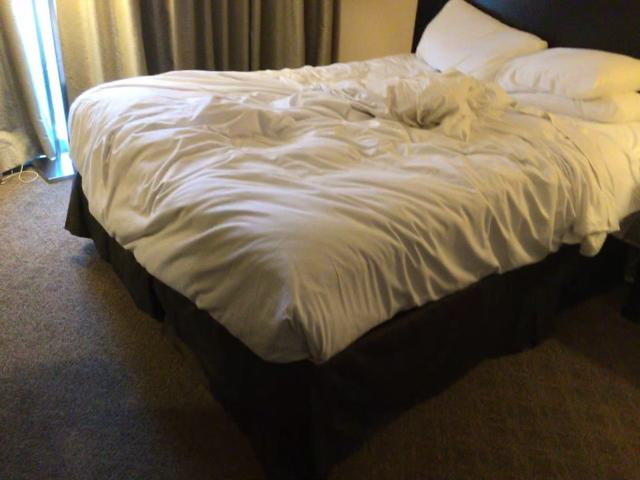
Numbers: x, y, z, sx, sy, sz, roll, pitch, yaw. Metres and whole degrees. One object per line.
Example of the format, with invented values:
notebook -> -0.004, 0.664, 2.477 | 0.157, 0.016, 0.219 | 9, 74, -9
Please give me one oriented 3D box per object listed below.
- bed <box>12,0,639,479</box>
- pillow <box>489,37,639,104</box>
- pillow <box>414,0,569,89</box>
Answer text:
bed -> 0.270, -0.600, 2.180 | 2.140, 1.590, 1.830 | -17, 35, -35
pillow -> 1.080, -0.720, 2.400 | 0.430, 0.120, 0.570 | -17, 35, -35
pillow -> 0.790, -1.000, 2.790 | 0.300, 0.360, 0.660 | -10, 31, -24
